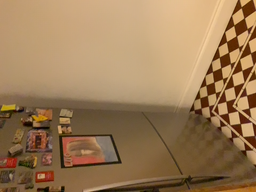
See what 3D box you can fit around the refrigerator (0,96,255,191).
[{"bbox_3d":[-0.020,0.560,1.490,0.810,1.690,0.710,-123,42,-54],"label":"refrigerator"}]
